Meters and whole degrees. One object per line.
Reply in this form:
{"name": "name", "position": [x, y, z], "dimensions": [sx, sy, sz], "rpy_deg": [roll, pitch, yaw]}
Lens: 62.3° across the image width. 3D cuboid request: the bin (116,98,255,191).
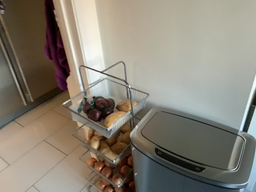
{"name": "bin", "position": [0.240, 0.410, 0.980], "dimensions": [0.440, 0.640, 0.300], "rpy_deg": [19, 41, 31]}
